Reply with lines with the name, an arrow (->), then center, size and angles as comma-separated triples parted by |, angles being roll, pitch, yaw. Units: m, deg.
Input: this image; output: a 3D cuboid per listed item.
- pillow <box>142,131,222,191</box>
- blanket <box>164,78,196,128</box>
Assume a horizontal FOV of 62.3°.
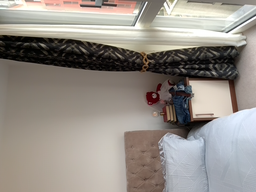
pillow -> 0.520, 0.750, 2.080 | 0.660, 0.440, 0.180 | 56, 164, 4
blanket -> 0.550, 0.100, 2.350 | 0.550, 0.090, 0.420 | 121, 147, -71
